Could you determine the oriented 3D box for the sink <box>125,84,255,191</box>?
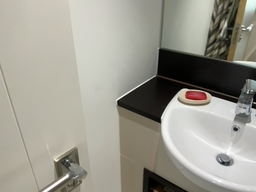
[{"bbox_3d":[0.340,0.180,0.770,0.530,0.160,0.460,21,35,32],"label":"sink"}]
